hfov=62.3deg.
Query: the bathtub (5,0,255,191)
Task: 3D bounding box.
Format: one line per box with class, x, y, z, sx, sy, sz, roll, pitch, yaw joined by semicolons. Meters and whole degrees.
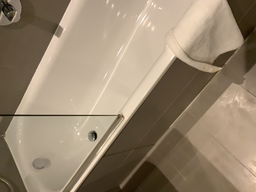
bathtub;-0.030;-0.120;1.220;0.690;0.530;1.650;48;113;29
